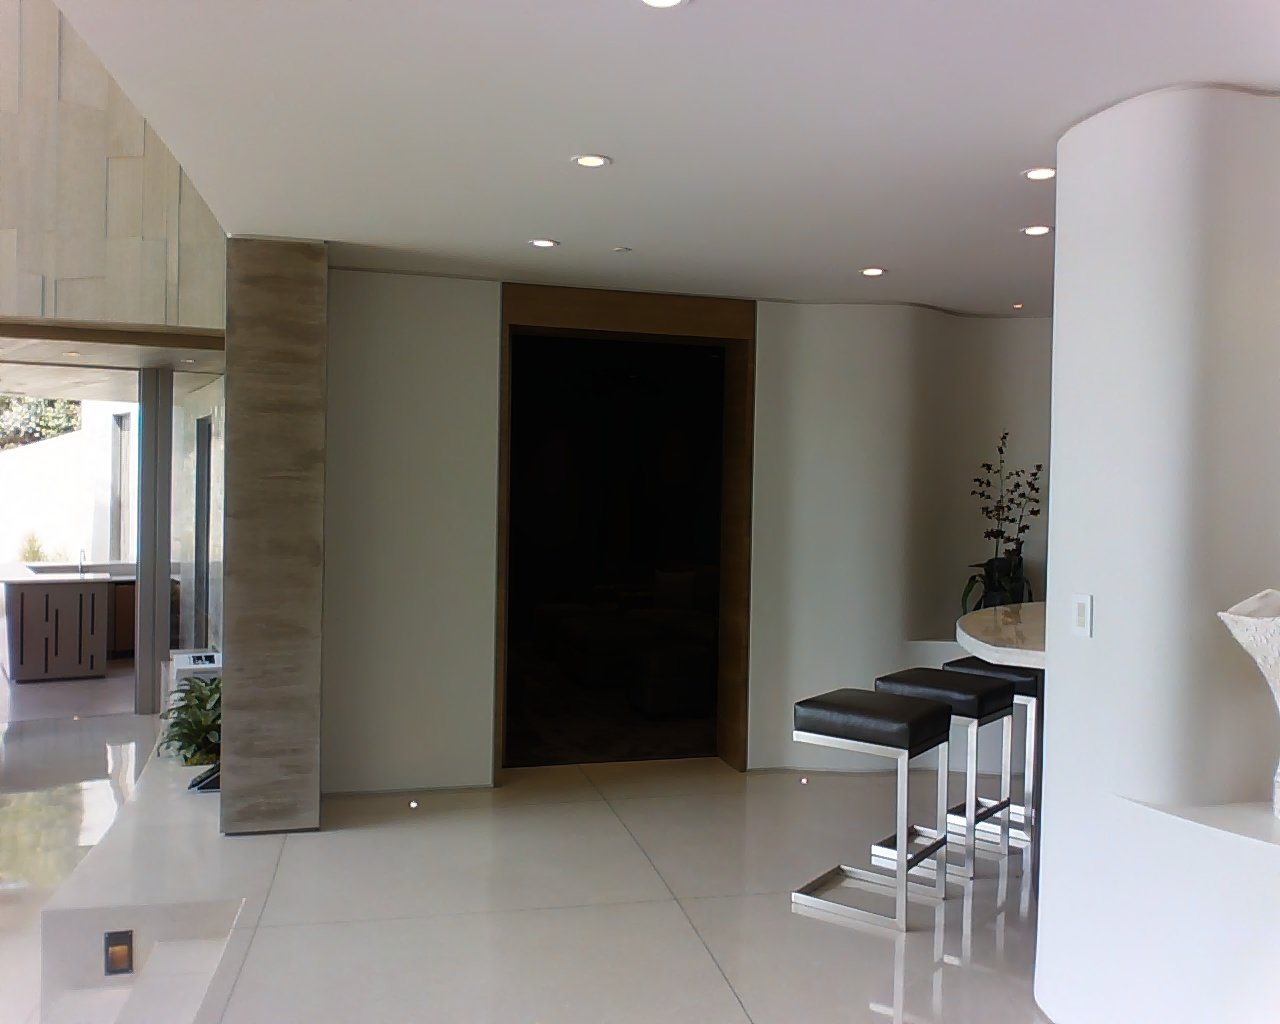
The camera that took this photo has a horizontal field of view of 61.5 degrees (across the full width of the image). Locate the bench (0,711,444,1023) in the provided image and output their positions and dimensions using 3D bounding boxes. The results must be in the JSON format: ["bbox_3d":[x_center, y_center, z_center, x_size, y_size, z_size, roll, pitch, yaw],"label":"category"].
[{"bbox_3d":[-1.610,1.480,3.110,0.780,0.510,6.430,1,1,1],"label":"bench"}]
